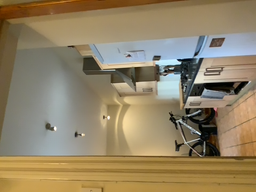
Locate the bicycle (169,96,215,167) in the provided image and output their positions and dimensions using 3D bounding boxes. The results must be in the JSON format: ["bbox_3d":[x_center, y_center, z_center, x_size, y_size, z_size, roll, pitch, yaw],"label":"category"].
[{"bbox_3d":[1.600,0.910,5.520,0.550,0.980,1.700,61,-151,-74],"label":"bicycle"}]
